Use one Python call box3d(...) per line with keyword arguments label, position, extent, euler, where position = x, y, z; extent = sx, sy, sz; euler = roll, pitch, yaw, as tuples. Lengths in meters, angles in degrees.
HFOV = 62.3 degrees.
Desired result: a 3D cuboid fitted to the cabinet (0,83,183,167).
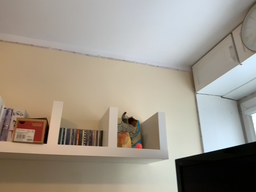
box3d(label="cabinet", position=(-0.710, 0.160, 1.150), extent=(2.060, 0.350, 0.360), euler=(8, -24, -18))
